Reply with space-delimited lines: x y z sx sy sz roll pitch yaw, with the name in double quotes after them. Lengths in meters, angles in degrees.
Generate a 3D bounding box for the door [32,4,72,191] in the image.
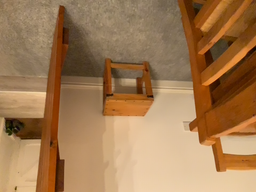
-0.440 0.420 1.120 0.080 1.780 0.740 8 149 -24 "door"

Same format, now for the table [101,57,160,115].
0.000 -0.070 1.740 0.390 0.370 0.290 1 152 -14 "table"
